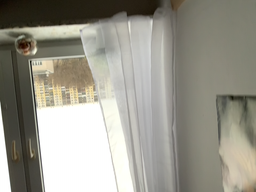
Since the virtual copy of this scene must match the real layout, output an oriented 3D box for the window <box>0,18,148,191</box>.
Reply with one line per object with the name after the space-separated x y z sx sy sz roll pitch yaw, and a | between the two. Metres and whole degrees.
-0.590 0.420 1.330 1.390 1.690 0.170 -5 -178 -7 | window
